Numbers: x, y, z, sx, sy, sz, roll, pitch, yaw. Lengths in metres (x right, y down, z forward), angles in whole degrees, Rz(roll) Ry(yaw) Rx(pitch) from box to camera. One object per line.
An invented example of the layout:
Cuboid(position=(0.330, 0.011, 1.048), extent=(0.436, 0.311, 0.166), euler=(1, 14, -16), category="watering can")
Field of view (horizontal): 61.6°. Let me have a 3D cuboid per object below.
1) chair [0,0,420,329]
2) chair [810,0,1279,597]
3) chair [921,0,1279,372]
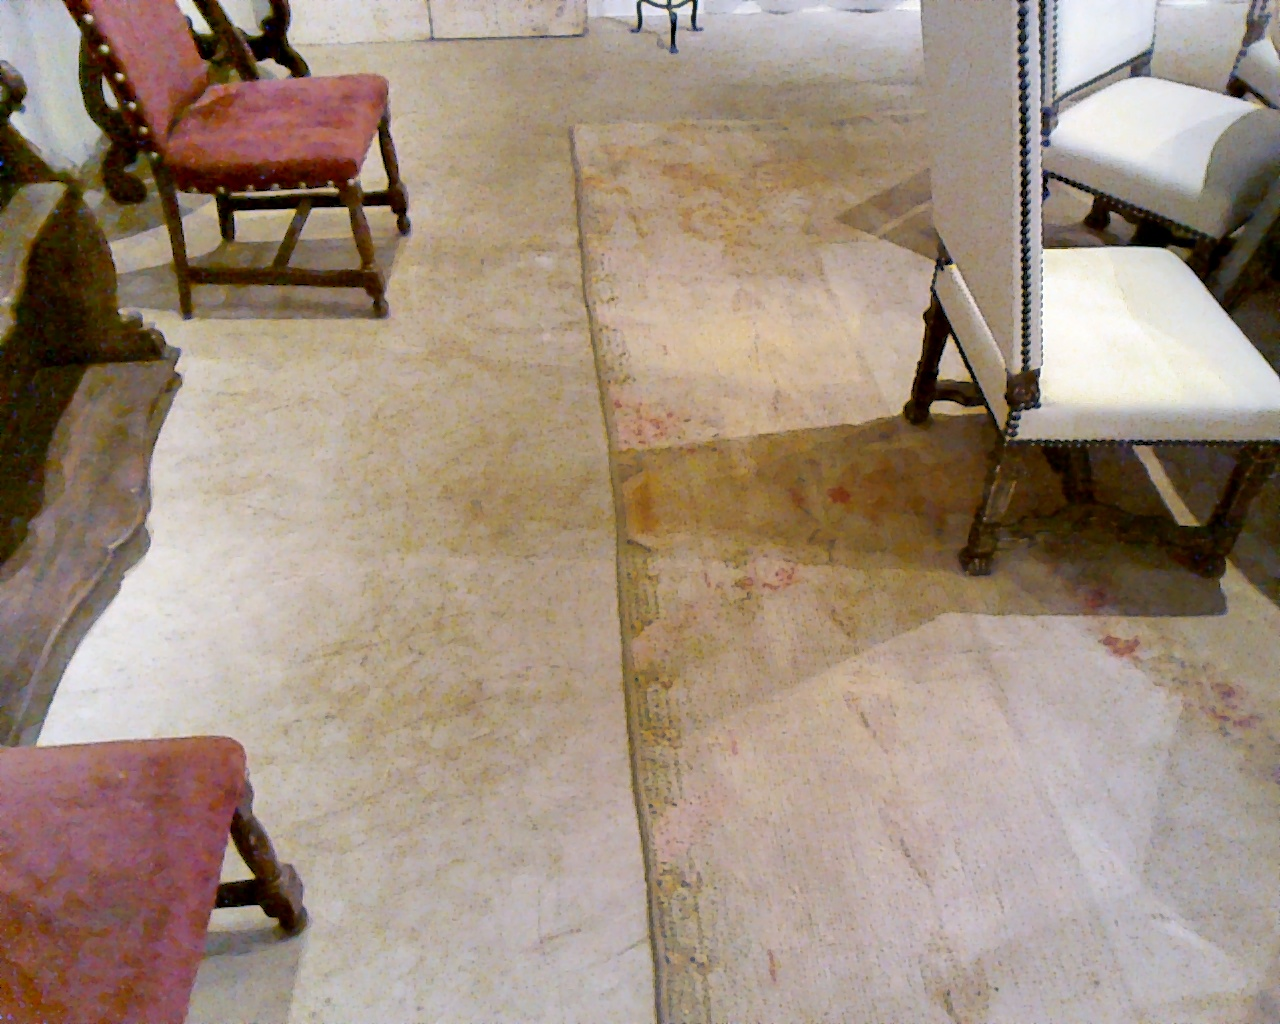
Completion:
Cuboid(position=(-0.970, -1.040, 2.540), extent=(0.690, 1.080, 0.510), euler=(-2, 43, -2), category="chair")
Cuboid(position=(0.790, -0.480, 1.890), extent=(0.750, 1.140, 0.600), euler=(-3, 43, -4), category="chair")
Cuboid(position=(1.240, -1.070, 2.530), extent=(0.620, 1.130, 0.710), euler=(-32, 52, -30), category="chair")
